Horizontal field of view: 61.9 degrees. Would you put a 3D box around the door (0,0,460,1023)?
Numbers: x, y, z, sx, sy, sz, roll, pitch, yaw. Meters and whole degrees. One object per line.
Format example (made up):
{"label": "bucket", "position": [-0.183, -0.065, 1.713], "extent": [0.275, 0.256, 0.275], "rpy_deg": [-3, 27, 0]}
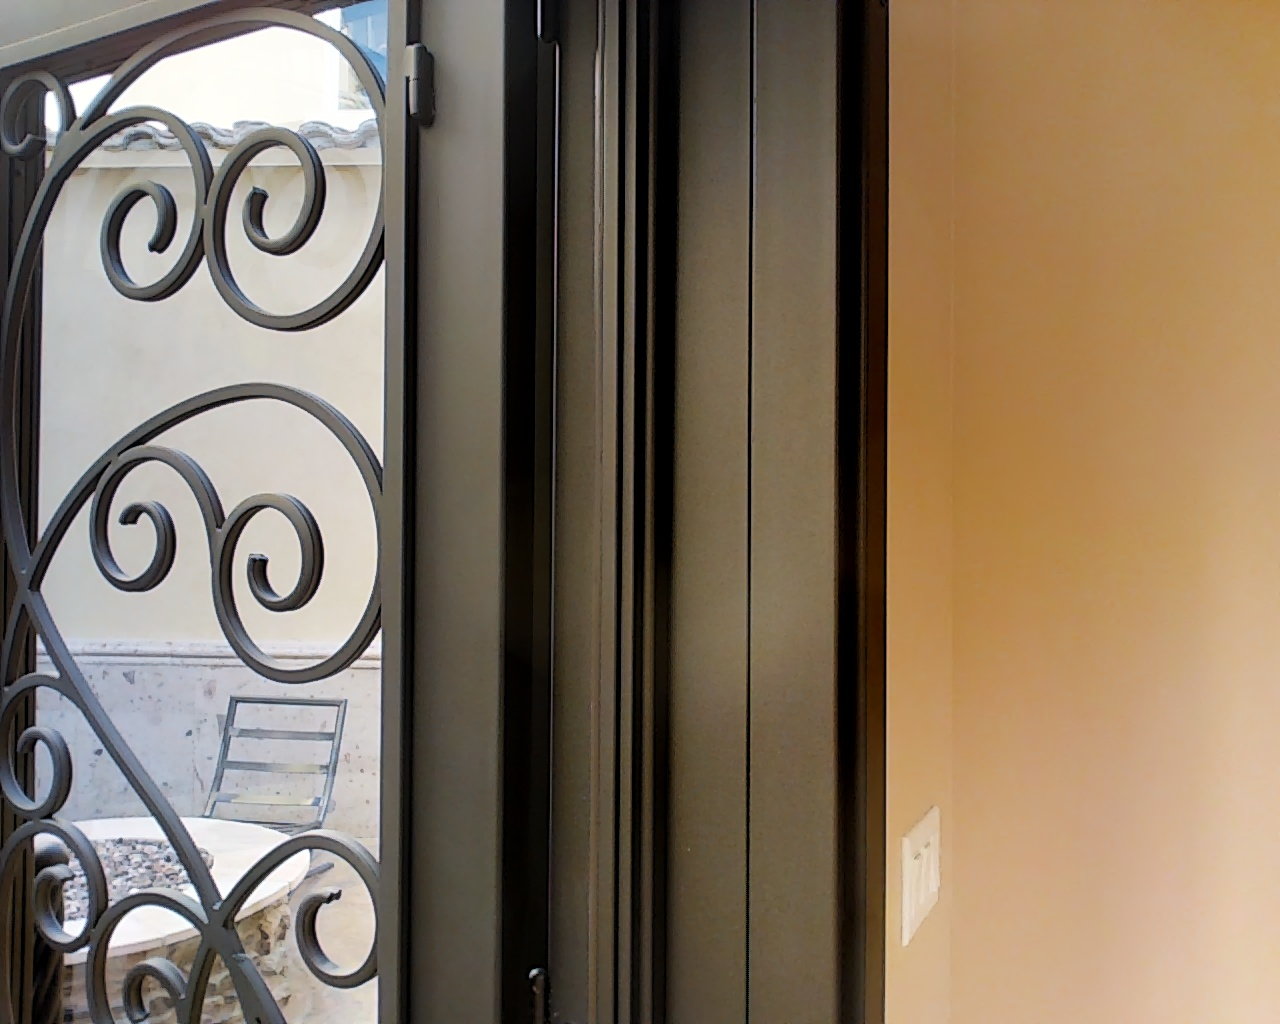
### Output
{"label": "door", "position": [-0.550, 0.490, 1.160], "extent": [0.730, 2.120, 0.170], "rpy_deg": [0, -1, 27]}
